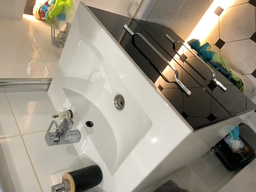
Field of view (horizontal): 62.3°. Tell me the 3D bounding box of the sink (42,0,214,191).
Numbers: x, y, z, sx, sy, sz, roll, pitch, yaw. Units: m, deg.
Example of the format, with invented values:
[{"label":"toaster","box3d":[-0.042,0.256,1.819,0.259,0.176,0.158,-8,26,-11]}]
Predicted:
[{"label":"sink","box3d":[-0.090,0.020,0.800,0.630,0.140,0.460,52,127,28]}]
